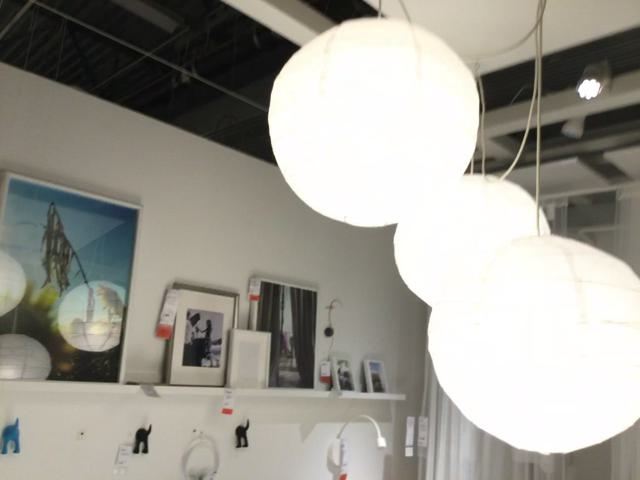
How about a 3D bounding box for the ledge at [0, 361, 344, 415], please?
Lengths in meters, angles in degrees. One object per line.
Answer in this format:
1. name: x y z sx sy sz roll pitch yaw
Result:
1. ledge: -0.550 0.600 2.310 1.650 0.160 0.150 14 -16 -40
